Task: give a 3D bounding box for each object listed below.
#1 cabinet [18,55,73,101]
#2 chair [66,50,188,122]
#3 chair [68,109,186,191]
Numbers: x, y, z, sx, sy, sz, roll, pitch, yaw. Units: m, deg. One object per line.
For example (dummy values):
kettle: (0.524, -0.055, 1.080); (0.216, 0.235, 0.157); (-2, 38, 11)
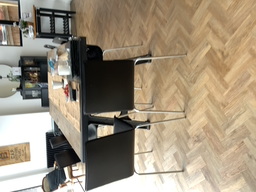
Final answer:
cabinet: (-1.840, -0.420, 4.800); (0.330, 1.100, 0.950); (13, 105, 61)
chair: (-0.010, -0.100, 1.700); (0.470, 0.850, 0.440); (12, 103, 61)
chair: (-0.010, 0.390, 1.760); (0.470, 0.840, 0.440); (12, 103, 61)
